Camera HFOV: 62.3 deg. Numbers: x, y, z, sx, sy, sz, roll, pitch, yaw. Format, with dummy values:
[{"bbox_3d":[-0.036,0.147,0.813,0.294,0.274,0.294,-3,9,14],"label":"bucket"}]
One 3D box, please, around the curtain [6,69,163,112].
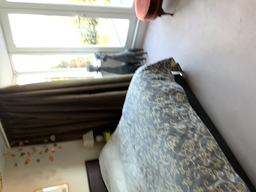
[{"bbox_3d":[-0.570,-0.120,3.250,0.450,2.200,0.290,104,154,-43],"label":"curtain"}]
